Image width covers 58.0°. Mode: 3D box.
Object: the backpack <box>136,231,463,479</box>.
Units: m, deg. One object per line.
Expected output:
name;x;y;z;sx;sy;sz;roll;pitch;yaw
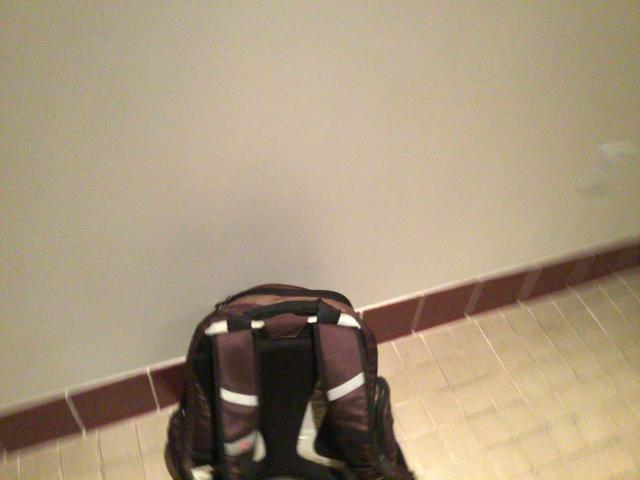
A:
backpack;-0.060;0.290;1.050;0.440;0.450;0.360;-6;45;-9
